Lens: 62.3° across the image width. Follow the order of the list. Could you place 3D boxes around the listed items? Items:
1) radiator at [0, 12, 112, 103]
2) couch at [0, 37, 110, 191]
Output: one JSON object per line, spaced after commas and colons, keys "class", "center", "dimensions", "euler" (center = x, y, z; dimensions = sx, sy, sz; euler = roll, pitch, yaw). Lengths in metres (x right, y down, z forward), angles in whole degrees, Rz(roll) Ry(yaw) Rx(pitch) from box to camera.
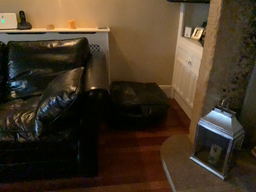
{"class": "radiator", "center": [-0.800, -0.420, 2.340], "dimensions": [1.220, 0.920, 0.250], "euler": [-2, 26, -7]}
{"class": "couch", "center": [-1.060, 0.040, 1.740], "dimensions": [1.760, 0.820, 1.110], "euler": [-2, 26, -6]}
